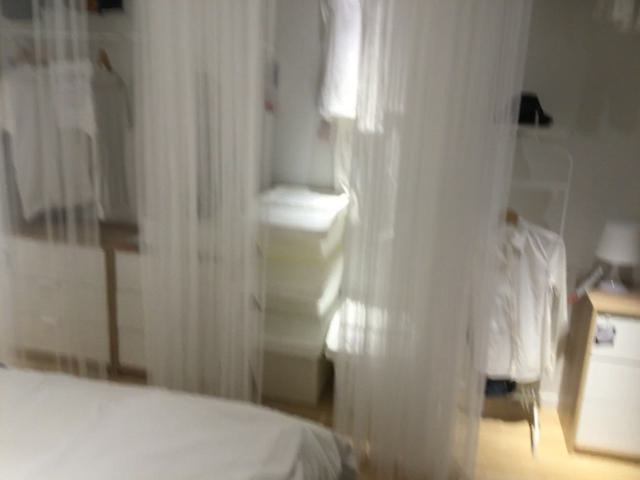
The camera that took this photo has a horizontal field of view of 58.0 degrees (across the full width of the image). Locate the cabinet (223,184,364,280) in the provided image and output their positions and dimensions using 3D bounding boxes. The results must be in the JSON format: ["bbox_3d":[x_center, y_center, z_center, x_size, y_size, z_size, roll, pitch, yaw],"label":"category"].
[{"bbox_3d":[-0.100,-0.060,2.660,0.500,0.280,0.550,6,15,13],"label":"cabinet"}]

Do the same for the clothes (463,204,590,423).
[{"bbox_3d":[0.860,0.310,2.480,0.390,0.870,0.210,6,15,13],"label":"clothes"}]

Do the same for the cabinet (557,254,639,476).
[{"bbox_3d":[1.480,0.520,2.360,0.800,0.740,0.500,6,15,13],"label":"cabinet"}]

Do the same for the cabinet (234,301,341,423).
[{"bbox_3d":[-0.150,0.550,2.650,0.440,0.440,0.200,6,15,13],"label":"cabinet"}]

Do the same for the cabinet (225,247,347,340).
[{"bbox_3d":[-0.150,0.230,2.570,0.490,0.300,0.210,6,15,13],"label":"cabinet"}]
